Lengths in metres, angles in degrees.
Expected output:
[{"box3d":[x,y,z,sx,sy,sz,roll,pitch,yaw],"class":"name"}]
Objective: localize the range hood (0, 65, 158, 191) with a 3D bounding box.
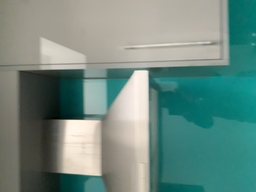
[{"box3d":[-0.240,0.220,0.920,0.470,0.710,0.630,-6,-84,-78],"class":"range hood"}]
